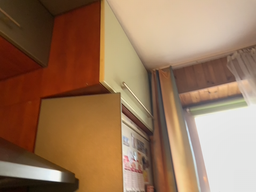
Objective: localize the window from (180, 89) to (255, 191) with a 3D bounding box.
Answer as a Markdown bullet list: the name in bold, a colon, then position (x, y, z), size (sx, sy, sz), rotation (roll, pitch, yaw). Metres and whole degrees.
- **window**: position (0.790, 0.640, 1.370), size (0.660, 1.360, 0.160), rotation (-14, -28, 21)
